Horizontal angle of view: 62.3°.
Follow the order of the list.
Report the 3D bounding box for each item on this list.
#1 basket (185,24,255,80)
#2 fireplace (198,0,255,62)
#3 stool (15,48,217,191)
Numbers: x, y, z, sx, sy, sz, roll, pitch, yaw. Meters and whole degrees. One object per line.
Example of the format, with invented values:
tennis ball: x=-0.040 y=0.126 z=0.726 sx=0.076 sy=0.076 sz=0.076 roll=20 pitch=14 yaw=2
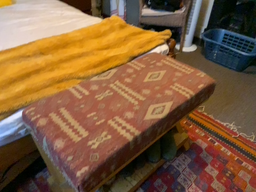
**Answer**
basket: x=1.050 y=-0.500 z=2.290 sx=0.690 sy=0.260 sz=0.420 roll=32 pitch=46 yaw=31
fireplace: x=1.200 y=-0.920 z=2.320 sx=0.630 sy=0.910 sz=0.160 roll=31 pitch=46 yaw=30
stool: x=-0.010 y=0.190 z=1.090 sx=0.800 sy=0.560 sz=0.410 roll=-29 pitch=49 yaw=-34
